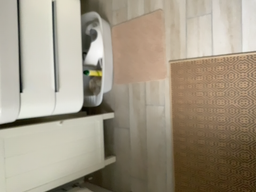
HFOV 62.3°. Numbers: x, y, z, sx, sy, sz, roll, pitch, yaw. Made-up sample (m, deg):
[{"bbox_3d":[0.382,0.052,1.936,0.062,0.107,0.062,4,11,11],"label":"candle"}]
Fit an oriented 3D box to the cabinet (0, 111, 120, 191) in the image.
[{"bbox_3d":[-0.510,0.360,1.460,0.420,0.880,0.400,1,93,39],"label":"cabinet"}]
